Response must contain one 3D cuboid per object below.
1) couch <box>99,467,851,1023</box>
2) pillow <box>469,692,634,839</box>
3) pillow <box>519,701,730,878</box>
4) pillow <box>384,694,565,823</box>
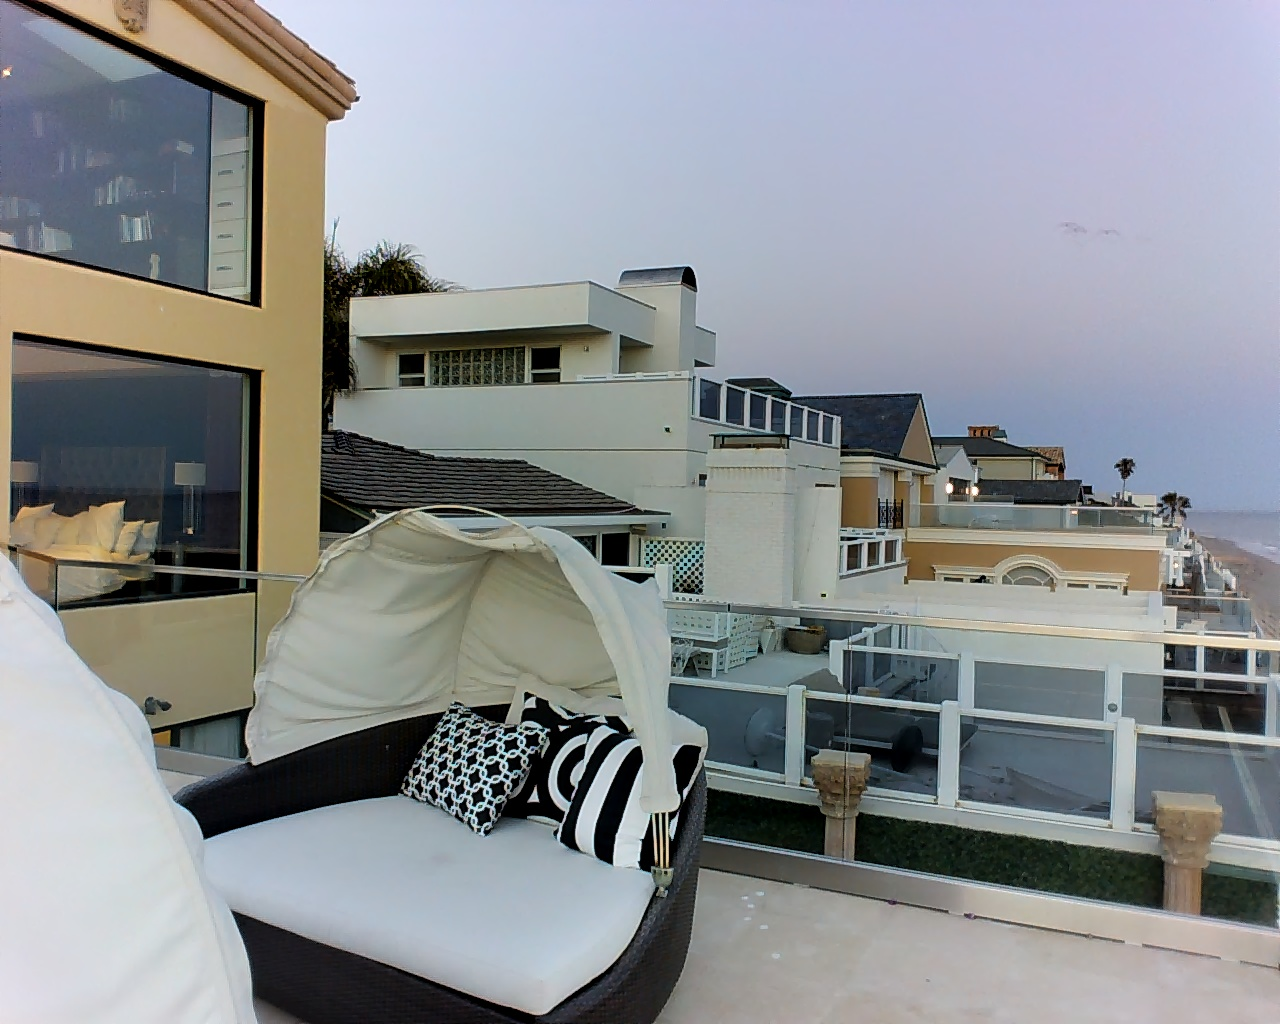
[{"bbox_3d":[-0.480,0.690,3.600,1.779,1.631,1.710,2,2,33],"label":"couch"},{"bbox_3d":[-0.300,0.850,3.650,0.440,0.420,0.220,-9,-32,41],"label":"pillow"},{"bbox_3d":[-0.050,0.850,3.360,0.550,0.460,0.240,-9,-32,41],"label":"pillow"},{"bbox_3d":[-0.590,0.880,3.790,0.240,0.330,0.610,37,-36,-29],"label":"pillow"}]
